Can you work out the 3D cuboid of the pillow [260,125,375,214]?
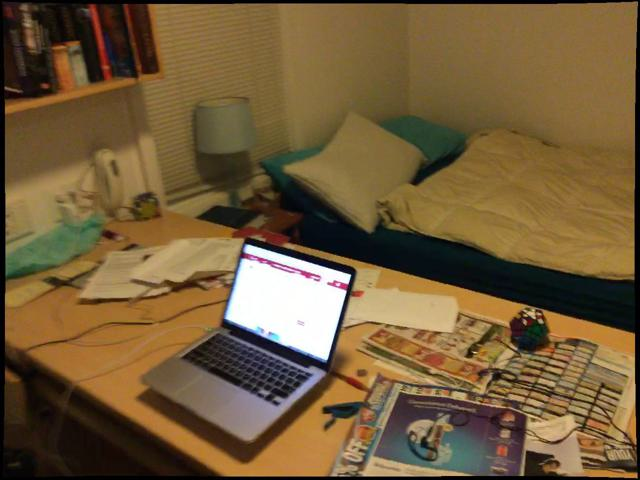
[{"bbox_3d":[0.000,-0.340,2.670,0.310,0.240,0.450,15,33,34],"label":"pillow"}]

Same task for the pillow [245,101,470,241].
[{"bbox_3d":[0.210,-0.370,2.670,0.610,0.280,0.920,15,33,34],"label":"pillow"}]

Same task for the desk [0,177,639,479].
[{"bbox_3d":[-0.110,0.490,1.510,1.819,0.801,0.850,15,33,34],"label":"desk"}]

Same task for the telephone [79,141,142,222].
[{"bbox_3d":[-0.709,-0.200,1.970,0.110,0.240,0.110,15,33,34],"label":"telephone"}]

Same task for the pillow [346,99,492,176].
[{"bbox_3d":[0.549,-0.581,3.140,0.510,0.170,0.690,15,33,34],"label":"pillow"}]
